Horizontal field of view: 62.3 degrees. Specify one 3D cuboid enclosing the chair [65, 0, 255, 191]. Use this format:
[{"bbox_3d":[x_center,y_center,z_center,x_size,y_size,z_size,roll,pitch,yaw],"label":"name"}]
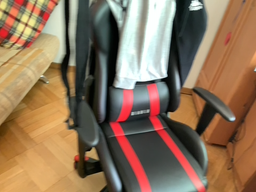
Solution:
[{"bbox_3d":[0.090,0.070,1.020,0.660,1.370,0.730,-4,38,-23],"label":"chair"}]
